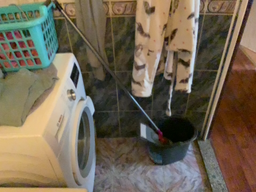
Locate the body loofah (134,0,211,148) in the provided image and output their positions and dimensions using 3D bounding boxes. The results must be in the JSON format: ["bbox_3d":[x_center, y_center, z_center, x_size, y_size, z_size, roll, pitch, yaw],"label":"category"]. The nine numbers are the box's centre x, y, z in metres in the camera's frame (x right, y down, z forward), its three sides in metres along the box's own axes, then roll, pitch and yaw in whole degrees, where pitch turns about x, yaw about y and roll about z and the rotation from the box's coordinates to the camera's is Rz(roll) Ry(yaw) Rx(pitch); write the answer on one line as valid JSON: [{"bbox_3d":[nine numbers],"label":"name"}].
[{"bbox_3d":[0.210,-0.270,1.200,0.340,1.510,0.210,1,39,4],"label":"body loofah"}]
